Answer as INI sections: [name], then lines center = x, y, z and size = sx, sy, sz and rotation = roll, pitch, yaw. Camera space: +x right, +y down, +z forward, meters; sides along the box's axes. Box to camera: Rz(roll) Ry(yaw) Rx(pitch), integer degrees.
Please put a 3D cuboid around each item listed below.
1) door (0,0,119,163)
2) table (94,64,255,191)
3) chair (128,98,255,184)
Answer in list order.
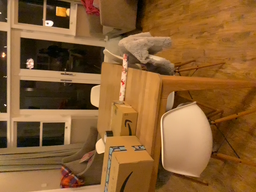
[door]
center = -1.780, -0.360, 4.470
size = 0.180, 2.880, 3.660
rotation = -148, 62, -67
[table]
center = 0.220, 0.250, 2.090
size = 1.520, 0.750, 0.920
rotation = -146, 60, -66
[chair]
center = 0.460, 0.270, 1.420
size = 0.510, 0.780, 0.420
rotation = 157, 114, -67
